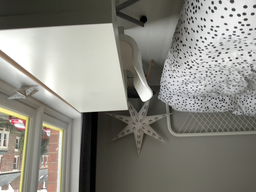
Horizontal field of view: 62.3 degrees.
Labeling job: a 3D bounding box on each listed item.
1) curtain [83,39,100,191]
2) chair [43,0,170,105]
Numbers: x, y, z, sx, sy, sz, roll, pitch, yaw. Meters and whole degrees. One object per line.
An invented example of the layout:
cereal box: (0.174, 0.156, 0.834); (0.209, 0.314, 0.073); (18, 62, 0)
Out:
curtain: (-0.340, 0.680, 2.020); (0.110, 2.490, 0.430); (-2, 165, -3)
chair: (-0.140, -0.380, 1.540); (0.670, 0.750, 0.660); (-1, 165, -4)
